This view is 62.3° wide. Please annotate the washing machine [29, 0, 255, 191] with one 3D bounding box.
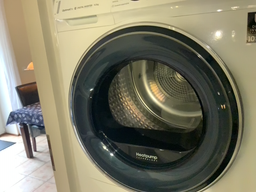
[{"bbox_3d":[0.190,0.010,0.890,0.620,0.920,0.750,3,16,28],"label":"washing machine"}]
